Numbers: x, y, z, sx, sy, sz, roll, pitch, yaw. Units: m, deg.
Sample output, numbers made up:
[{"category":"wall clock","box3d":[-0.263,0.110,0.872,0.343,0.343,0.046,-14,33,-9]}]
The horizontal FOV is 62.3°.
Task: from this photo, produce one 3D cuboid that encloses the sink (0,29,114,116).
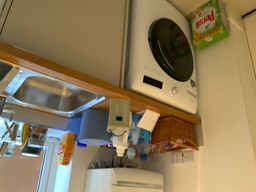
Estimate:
[{"category":"sink","box3d":[-0.430,-0.080,1.240,0.480,0.180,0.510,20,152,-34]}]
